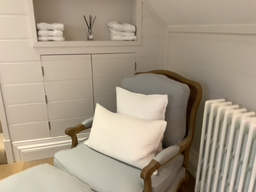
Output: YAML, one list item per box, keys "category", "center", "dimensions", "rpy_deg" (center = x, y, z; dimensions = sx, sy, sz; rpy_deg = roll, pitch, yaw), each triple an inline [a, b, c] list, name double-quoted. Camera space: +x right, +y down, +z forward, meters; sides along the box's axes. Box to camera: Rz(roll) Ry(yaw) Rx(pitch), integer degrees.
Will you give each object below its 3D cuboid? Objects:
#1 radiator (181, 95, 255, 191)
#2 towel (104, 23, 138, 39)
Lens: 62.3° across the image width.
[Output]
- category: "radiator"
  center: [0.650, 0.480, 1.250]
  dimensions: [0.180, 0.740, 0.880]
  rpy_deg: [-5, 18, -15]
- category: "towel"
  center: [-0.080, -0.670, 2.180]
  dimensions: [0.270, 0.150, 0.290]
  rpy_deg: [-5, 19, -17]
